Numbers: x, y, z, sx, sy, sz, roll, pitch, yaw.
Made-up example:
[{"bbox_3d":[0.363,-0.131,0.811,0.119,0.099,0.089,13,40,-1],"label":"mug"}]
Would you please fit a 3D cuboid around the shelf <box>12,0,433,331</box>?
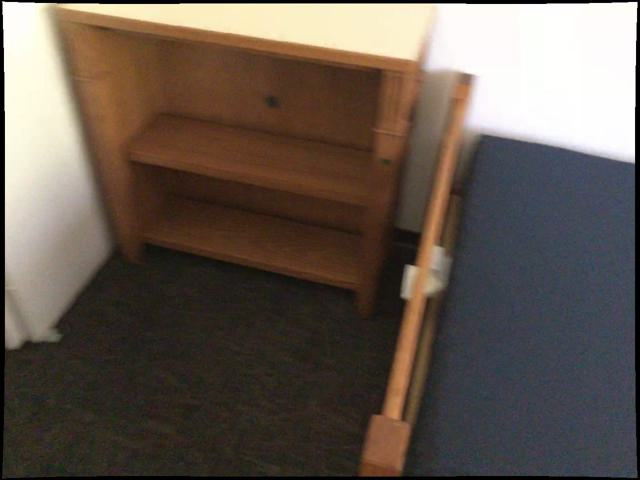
[{"bbox_3d":[-0.209,-0.251,1.540,0.838,0.781,0.380,14,45,11],"label":"shelf"}]
